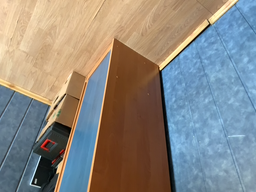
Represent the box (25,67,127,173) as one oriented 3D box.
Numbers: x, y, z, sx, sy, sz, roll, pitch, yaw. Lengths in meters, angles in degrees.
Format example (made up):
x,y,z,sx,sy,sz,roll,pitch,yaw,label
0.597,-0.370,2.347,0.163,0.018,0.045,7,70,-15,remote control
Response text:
x,y,z,sx,sy,sz,roll,pitch,yaw,label
-0.370,0.210,1.660,0.530,0.500,0.470,31,129,-26,box
